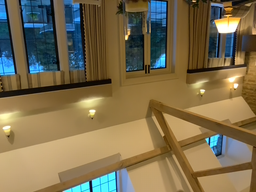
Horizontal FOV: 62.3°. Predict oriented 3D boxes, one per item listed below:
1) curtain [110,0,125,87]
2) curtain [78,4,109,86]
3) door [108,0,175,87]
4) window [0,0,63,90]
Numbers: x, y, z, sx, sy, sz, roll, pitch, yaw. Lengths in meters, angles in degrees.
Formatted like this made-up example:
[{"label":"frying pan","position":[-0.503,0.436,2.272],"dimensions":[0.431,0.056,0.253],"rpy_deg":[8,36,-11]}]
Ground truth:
[{"label":"curtain","position":[-0.210,-1.290,4.240],"dimensions":[0.210,2.230,0.170],"rpy_deg":[-9,-164,-30]},{"label":"curtain","position":[-0.640,-0.940,4.020],"dimensions":[0.460,1.440,0.180],"rpy_deg":[-9,-164,-29]},{"label":"door","position":[0.370,-1.430,4.770],"dimensions":[1.680,2.270,0.180],"rpy_deg":[-10,-164,-32]},{"label":"window","position":[-1.940,-0.990,3.530],"dimensions":[1.490,1.700,0.170],"rpy_deg":[-10,-164,-31]}]
